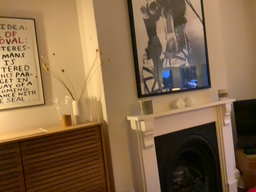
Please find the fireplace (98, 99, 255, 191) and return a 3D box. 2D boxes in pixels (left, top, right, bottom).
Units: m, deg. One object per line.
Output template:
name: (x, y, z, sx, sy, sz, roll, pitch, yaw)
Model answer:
fireplace: (0.620, 0.700, 2.250, 1.650, 1.150, 0.540, -7, 2, -29)
